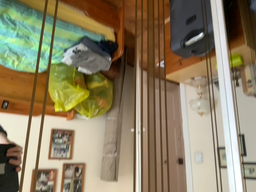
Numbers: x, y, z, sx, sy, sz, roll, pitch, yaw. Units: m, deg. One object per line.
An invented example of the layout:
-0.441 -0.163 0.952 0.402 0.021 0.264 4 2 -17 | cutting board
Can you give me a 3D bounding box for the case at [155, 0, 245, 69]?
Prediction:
0.490 -0.590 1.530 0.390 0.610 0.440 12 163 -34 | case
